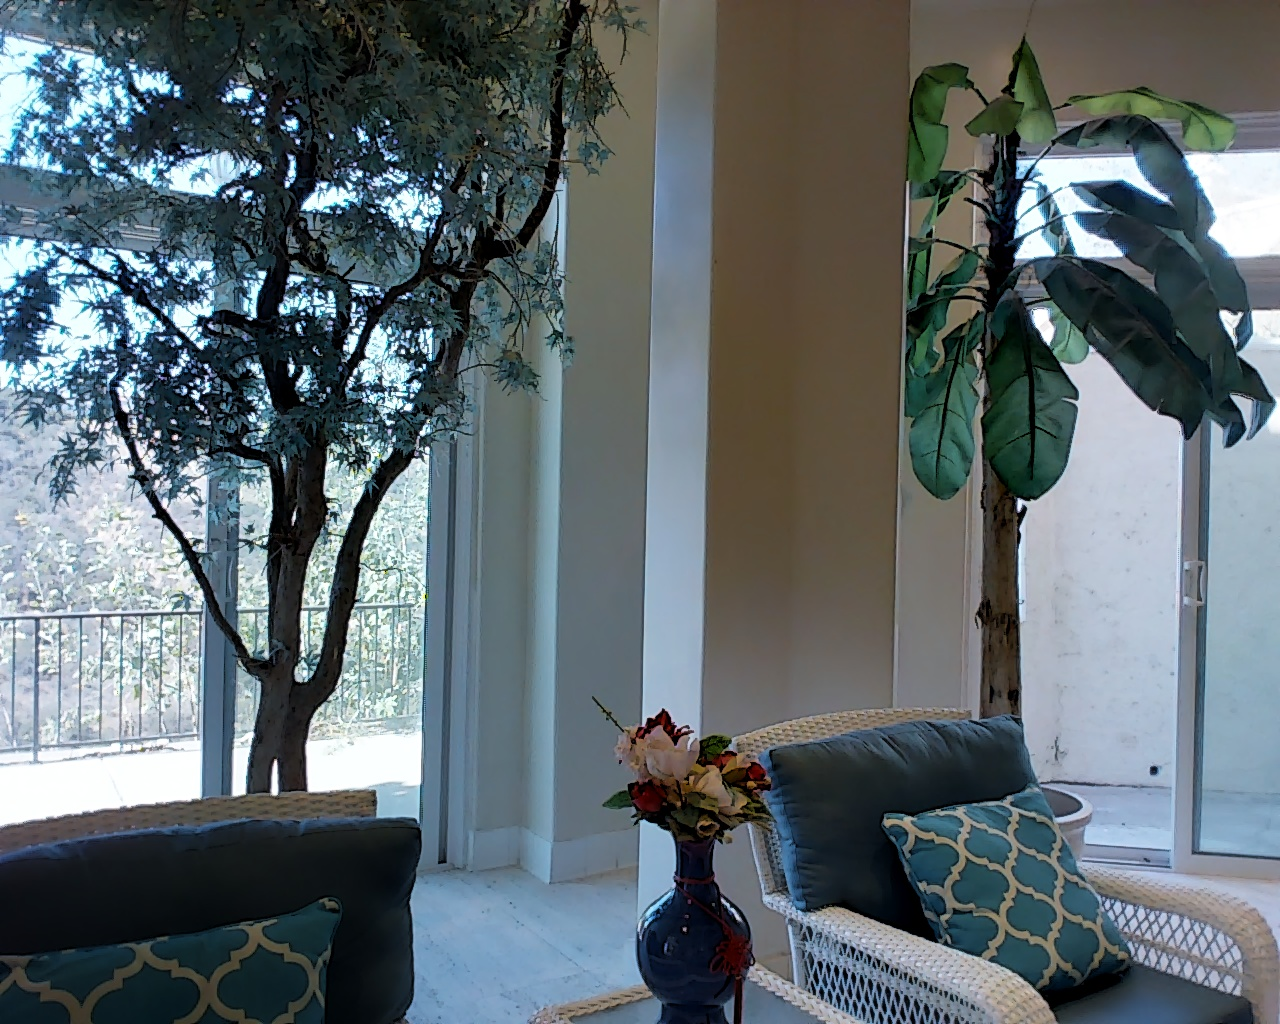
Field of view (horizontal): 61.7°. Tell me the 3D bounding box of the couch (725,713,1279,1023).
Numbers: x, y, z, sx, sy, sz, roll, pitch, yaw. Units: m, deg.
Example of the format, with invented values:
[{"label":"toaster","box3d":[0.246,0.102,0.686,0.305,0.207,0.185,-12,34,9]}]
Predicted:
[{"label":"couch","box3d":[0.770,0.990,2.340,0.800,0.880,0.850,1,1,-34]}]
